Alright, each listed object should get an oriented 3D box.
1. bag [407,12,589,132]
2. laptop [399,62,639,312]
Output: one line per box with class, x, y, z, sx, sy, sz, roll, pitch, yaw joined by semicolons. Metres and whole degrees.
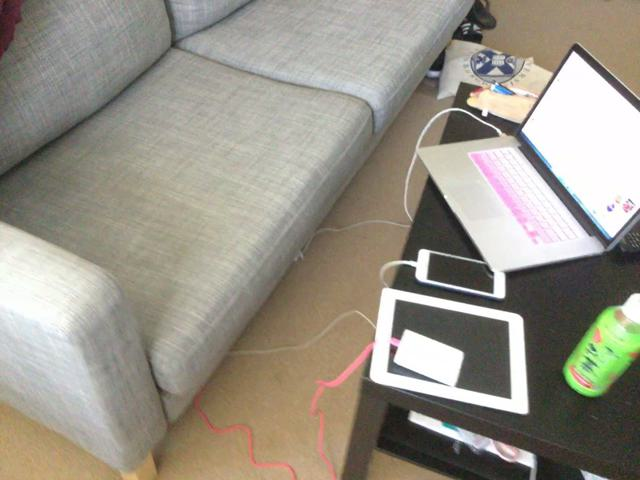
bag;0.670;-0.650;2.180;0.550;0.140;0.430;20;49;18
laptop;0.410;-0.120;1.100;0.390;0.220;0.390;-10;47;-10
